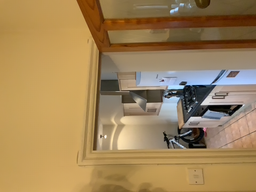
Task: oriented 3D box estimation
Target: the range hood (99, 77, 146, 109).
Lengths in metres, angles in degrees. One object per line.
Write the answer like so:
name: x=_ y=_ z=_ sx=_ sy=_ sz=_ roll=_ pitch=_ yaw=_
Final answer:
range hood: x=-0.090 y=-0.040 z=3.850 sx=0.530 sy=0.790 sz=0.410 roll=90 pitch=180 yaw=-68
